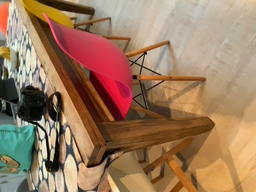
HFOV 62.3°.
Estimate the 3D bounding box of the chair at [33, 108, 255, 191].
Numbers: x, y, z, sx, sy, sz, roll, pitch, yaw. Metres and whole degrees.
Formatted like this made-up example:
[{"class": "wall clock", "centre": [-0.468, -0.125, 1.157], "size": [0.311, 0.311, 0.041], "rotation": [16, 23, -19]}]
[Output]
[{"class": "chair", "centre": [0.070, 0.520, 1.000], "size": [0.630, 0.800, 0.620], "rotation": [52, 129, 38]}]
